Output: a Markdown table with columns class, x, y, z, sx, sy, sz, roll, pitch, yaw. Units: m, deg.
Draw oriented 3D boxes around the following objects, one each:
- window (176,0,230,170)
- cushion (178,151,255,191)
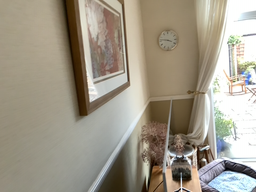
| class | x | y | z | sx | sy | sz | roll | pitch | yaw |
| --- | --- | --- | --- | --- | --- | --- | --- | --- | --- |
| window | 0.950 | -0.340 | 2.700 | 0.530 | 2.630 | 0.220 | -4 | 10 | 16 |
| cushion | 1.100 | 0.950 | 2.510 | 0.750 | 0.200 | 0.620 | -12 | 11 | -31 |
